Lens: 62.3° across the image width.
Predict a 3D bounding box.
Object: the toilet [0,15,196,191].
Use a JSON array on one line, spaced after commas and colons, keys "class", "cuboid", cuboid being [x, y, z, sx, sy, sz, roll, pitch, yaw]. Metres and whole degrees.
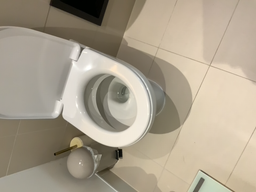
[{"class": "toilet", "cuboid": [-0.140, 0.000, 0.900, 0.530, 0.850, 0.380, 28, 105, 27]}]
